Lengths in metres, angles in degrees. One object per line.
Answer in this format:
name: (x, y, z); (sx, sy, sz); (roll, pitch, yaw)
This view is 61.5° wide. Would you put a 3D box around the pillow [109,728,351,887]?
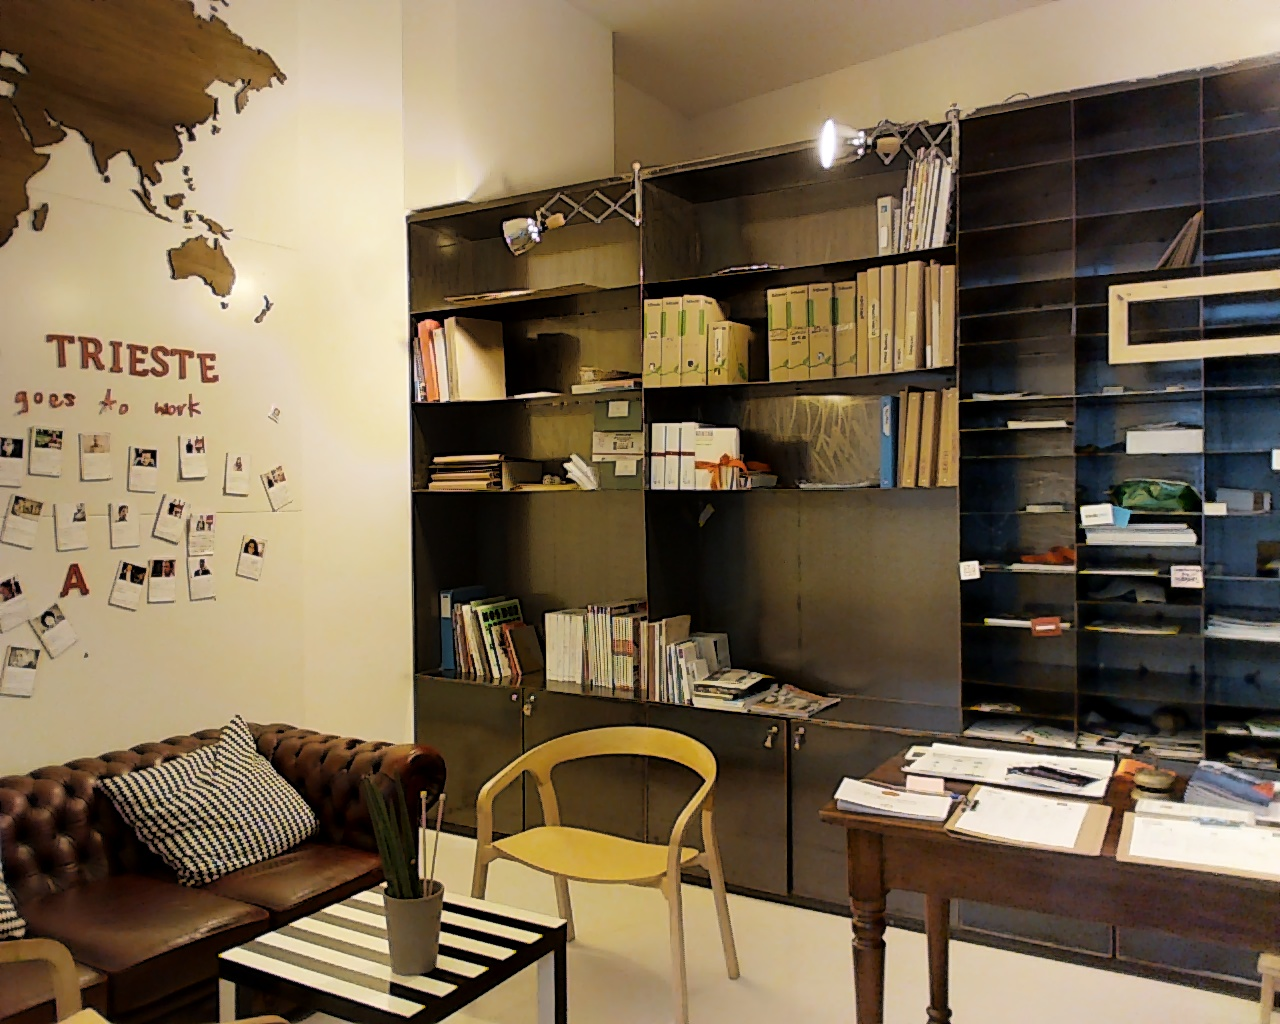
pillow: (-1.230, 0.880, 3.260); (0.460, 0.190, 0.480); (-42, -23, 15)
